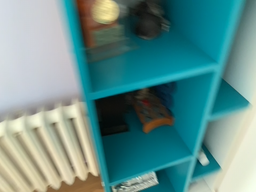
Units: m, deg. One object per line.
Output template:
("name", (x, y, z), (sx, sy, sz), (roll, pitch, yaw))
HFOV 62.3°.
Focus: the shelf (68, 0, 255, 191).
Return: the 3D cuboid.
("shelf", (0.110, -0.030, 0.700), (0.470, 1.010, 0.420), (-12, 43, -11))
